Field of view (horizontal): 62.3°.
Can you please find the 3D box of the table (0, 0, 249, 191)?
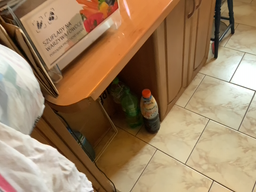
[{"bbox_3d":[0.200,-0.320,1.100,0.400,0.770,1.420,27,62,29],"label":"table"}]
